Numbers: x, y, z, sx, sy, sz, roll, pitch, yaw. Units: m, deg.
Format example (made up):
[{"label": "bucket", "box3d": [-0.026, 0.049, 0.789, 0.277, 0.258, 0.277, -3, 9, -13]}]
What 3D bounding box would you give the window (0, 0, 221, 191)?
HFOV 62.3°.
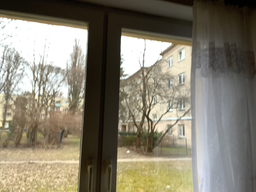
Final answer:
[{"label": "window", "box3d": [-0.200, 0.190, 1.160, 1.510, 1.570, 0.210, 3, -8, -17]}]
